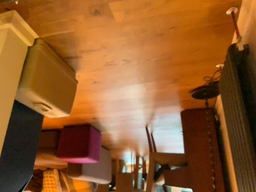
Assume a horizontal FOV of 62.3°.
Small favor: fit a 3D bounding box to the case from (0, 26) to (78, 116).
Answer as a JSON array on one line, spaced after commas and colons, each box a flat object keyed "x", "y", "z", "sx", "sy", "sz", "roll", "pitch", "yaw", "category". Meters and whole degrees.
[{"x": -0.550, "y": -0.120, "z": 1.310, "sx": 0.220, "sy": 0.320, "sz": 0.490, "roll": -8, "pitch": 154, "yaw": 16, "category": "case"}]

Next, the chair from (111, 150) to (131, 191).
[{"x": -0.130, "y": 1.760, "z": 4.740, "sx": 0.400, "sy": 0.960, "sz": 0.620, "roll": -1, "pitch": 155, "yaw": 2, "category": "chair"}]

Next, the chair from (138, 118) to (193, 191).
[{"x": 0.460, "y": 0.810, "z": 2.700, "sx": 0.580, "sy": 0.950, "sz": 0.410, "roll": -5, "pitch": 155, "yaw": 11, "category": "chair"}]

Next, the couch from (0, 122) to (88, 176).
[{"x": -1.210, "y": 0.780, "z": 3.000, "sx": 1.100, "sy": 0.620, "sz": 0.510, "roll": -6, "pitch": 155, "yaw": 13, "category": "couch"}]
